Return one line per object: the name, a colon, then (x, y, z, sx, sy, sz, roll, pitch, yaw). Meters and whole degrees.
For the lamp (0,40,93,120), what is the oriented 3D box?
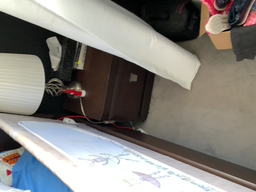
lamp: (-0.490, -0.070, 1.070, 0.330, 0.470, 0.300, 13, 93, 43)
